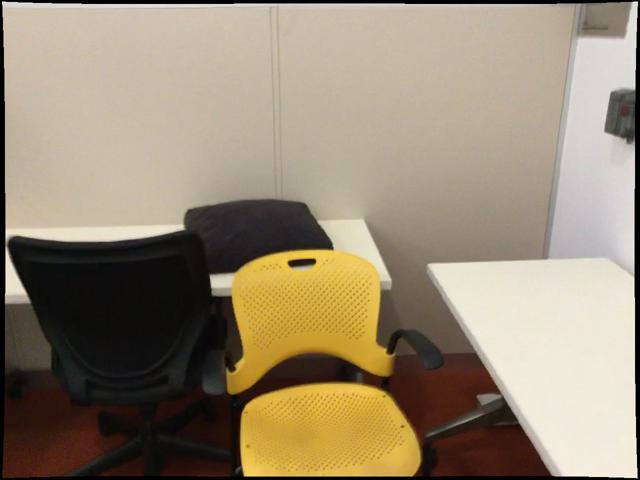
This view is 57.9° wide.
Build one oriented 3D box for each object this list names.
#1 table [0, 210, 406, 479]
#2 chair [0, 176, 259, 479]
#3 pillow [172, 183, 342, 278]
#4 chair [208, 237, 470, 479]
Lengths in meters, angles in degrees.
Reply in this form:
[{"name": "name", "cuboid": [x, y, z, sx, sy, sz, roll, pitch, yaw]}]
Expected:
[{"name": "table", "cuboid": [-0.559, 0.340, 2.070, 1.558, 0.721, 0.620, 0, 22, -5]}, {"name": "chair", "cuboid": [-0.519, 0.320, 1.840, 0.639, 0.941, 0.470, 0, 22, -5]}, {"name": "pillow", "cuboid": [-0.210, -0.050, 2.000, 0.509, 0.150, 0.510, 0, 22, -5]}, {"name": "chair", "cuboid": [0.000, 0.470, 1.630, 0.529, 0.741, 0.720, 0, 22, -5]}]
